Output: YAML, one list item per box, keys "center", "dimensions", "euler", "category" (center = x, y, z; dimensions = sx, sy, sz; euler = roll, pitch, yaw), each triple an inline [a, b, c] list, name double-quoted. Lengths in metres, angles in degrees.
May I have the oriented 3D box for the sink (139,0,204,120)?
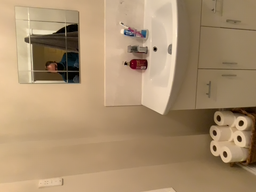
- center: [0.260, -0.330, 1.430]
  dimensions: [0.500, 0.190, 0.870]
  euler: [-155, 65, -72]
  category: "sink"
